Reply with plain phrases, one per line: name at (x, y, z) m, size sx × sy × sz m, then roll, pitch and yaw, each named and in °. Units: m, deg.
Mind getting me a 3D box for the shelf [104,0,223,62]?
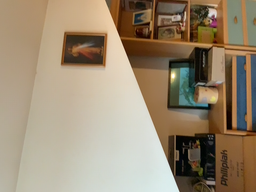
shelf at (0.360, -0.770, 2.270) m, size 0.370 × 1.140 × 0.640 m, roll 88°, pitch -173°, yaw -80°
